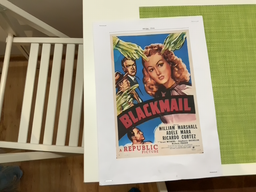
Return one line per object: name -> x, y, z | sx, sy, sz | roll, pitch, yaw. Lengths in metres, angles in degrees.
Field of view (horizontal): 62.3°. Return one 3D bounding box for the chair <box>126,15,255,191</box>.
chair -> 0.270, 0.170, 0.730 | 0.490, 0.750, 0.540 | -6, 81, -2
